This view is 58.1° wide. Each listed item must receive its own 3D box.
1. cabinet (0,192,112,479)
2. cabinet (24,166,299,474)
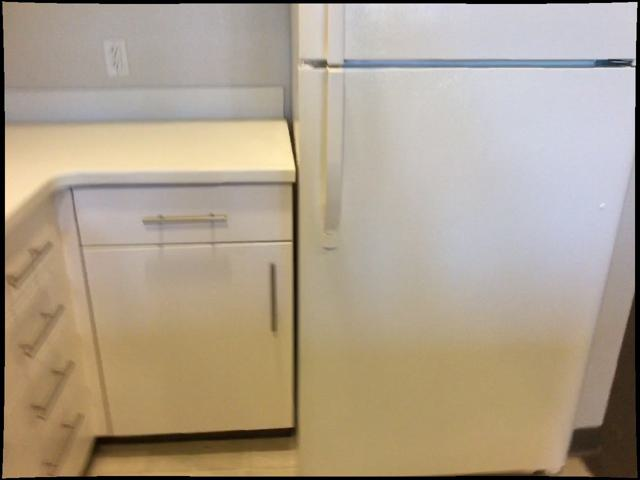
[{"bbox_3d":[-0.668,0.371,1.390,0.080,0.852,0.520,-1,22,-3],"label":"cabinet"},{"bbox_3d":[-0.389,0.251,1.620,0.648,0.902,0.120,-1,22,-3],"label":"cabinet"}]
